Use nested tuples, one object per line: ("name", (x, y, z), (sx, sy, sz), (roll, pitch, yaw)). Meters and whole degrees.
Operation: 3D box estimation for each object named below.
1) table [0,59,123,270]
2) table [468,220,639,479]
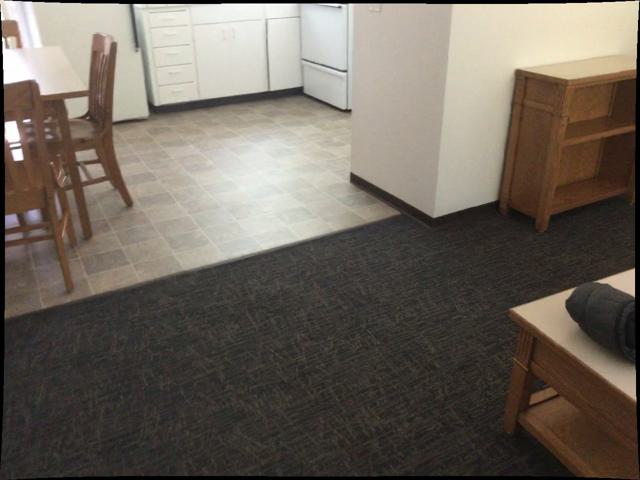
("table", (-1.298, -0.401, 2.800), (0.360, 0.761, 0.770), (-16, 32, -26))
("table", (1.098, 0.331, 1.650), (1.099, 0.541, 0.660), (-16, 32, -26))
